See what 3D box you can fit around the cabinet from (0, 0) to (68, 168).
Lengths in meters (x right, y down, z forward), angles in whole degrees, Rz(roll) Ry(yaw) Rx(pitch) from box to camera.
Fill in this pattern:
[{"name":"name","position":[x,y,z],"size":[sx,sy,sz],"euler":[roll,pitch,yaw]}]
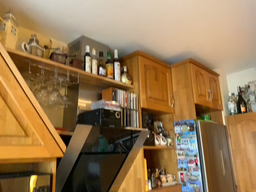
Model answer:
[{"name":"cabinet","position":[-0.680,-0.070,1.080],"size":[0.380,0.820,0.570],"euler":[-16,-20,42]}]
